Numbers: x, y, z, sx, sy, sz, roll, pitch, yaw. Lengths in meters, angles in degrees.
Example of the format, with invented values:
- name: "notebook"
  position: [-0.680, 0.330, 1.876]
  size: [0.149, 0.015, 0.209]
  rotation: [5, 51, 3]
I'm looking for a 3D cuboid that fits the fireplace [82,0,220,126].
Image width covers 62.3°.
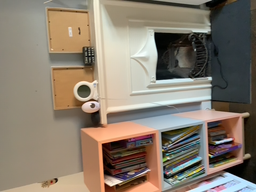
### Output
- name: "fireplace"
  position: [0.220, -0.310, 1.580]
  size: [0.230, 1.020, 0.890]
  rotation: [7, 101, 64]
